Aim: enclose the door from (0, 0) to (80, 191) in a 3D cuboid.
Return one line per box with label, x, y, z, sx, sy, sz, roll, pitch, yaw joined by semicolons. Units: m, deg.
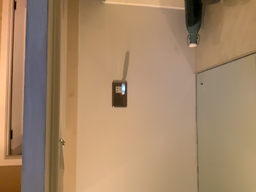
door;-0.270;-0.480;0.790;0.140;2.100;0.830;1;177;-16
